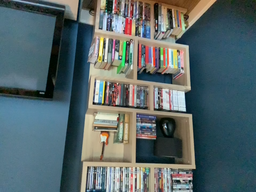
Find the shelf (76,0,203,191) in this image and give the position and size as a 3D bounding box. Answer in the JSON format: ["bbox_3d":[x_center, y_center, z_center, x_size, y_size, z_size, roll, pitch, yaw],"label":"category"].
[{"bbox_3d":[0.110,-0.040,1.930,0.950,1.770,0.340,7,163,-16],"label":"shelf"}]
